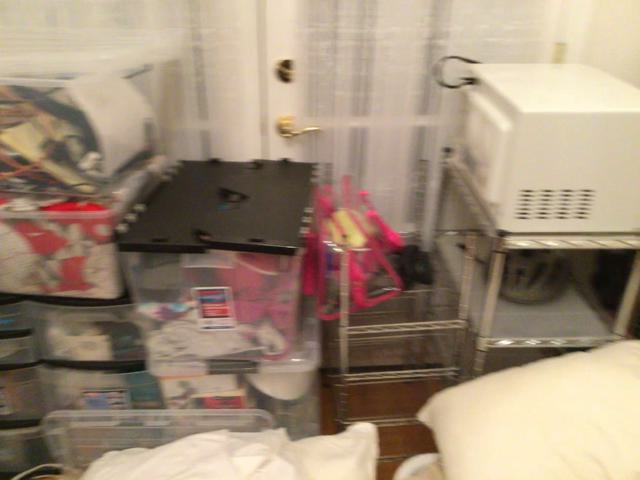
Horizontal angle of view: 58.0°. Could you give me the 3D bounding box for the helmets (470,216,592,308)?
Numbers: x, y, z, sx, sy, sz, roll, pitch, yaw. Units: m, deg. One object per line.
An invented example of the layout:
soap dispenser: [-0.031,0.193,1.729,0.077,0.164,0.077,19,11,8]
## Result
helmets: [0.540,0.050,1.520,0.210,0.140,0.250,-2,23,-3]
